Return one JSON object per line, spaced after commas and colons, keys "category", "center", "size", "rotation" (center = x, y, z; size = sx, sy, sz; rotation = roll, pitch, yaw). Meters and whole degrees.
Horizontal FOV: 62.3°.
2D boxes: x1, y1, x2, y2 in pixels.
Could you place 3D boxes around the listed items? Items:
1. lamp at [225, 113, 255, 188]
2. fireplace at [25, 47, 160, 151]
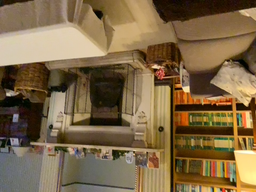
{"category": "lamp", "center": [1.480, 0.600, 2.390], "size": [0.640, 0.730, 0.640], "rotation": [-2, 167, 21]}
{"category": "fireplace", "center": [-0.470, 0.110, 3.200], "size": [1.770, 1.270, 0.770], "rotation": [-2, 167, 19]}
